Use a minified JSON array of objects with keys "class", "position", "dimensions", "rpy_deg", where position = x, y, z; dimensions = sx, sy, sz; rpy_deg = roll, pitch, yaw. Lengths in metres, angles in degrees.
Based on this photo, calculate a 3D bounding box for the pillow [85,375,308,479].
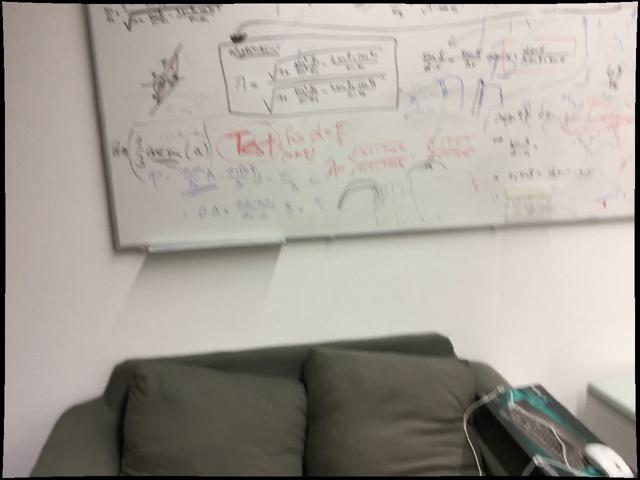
[{"class":"pillow","position":[-0.320,0.561,1.610],"dimensions":[0.519,0.430,0.240],"rpy_deg":[-5,68,-7]}]
